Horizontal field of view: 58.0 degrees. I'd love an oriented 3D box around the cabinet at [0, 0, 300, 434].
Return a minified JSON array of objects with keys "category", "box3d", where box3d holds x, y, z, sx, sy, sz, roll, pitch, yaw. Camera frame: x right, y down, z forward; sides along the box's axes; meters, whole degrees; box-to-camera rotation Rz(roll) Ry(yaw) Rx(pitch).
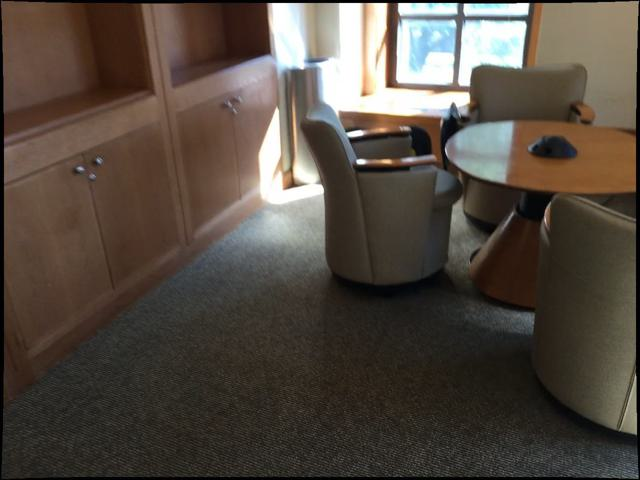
[{"category":"cabinet","box3d":[-1.087,-0.401,2.370,0.579,1.573,3.210,13,34,22]}]
